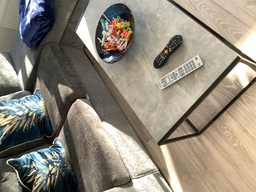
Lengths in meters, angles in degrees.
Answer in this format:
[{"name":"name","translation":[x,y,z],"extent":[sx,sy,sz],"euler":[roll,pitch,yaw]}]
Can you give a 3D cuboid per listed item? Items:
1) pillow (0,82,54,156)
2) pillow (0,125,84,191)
[{"name":"pillow","translation":[-0.920,0.170,1.770],"extent":[0.480,0.420,0.200],"euler":[55,150,29]},{"name":"pillow","translation":[-0.630,0.530,1.550],"extent":[0.450,0.430,0.220],"euler":[55,158,28]}]
